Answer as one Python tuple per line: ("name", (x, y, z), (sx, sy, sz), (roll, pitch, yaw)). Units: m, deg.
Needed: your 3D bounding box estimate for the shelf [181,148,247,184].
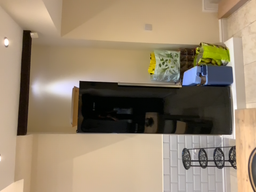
("shelf", (1.030, 0.840, 2.590), (0.330, 0.650, 0.340), (140, 131, -81))
